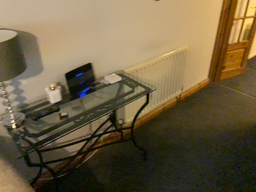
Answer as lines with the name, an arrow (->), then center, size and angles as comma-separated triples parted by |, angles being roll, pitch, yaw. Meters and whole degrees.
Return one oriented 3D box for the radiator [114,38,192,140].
radiator -> 0.280, -0.090, 2.280 | 0.920, 0.850, 0.160 | -25, 40, -33
